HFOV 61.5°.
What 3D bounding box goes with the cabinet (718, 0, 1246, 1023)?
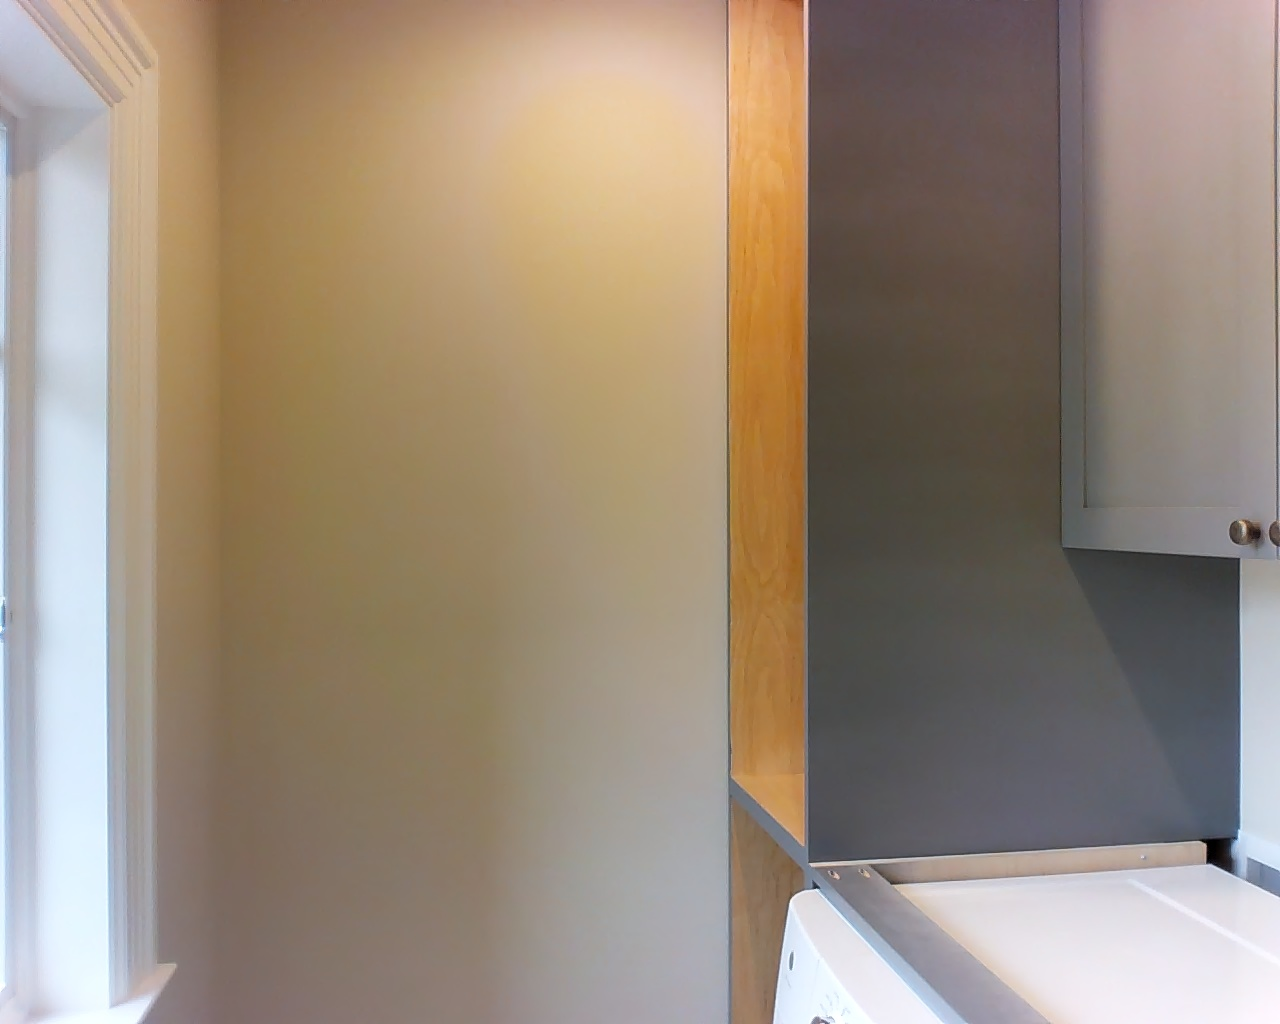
[{"bbox_3d":[0.580,0.170,1.990,0.760,2.730,0.560,0,0,-9],"label":"cabinet"}]
